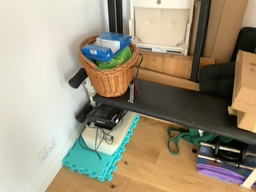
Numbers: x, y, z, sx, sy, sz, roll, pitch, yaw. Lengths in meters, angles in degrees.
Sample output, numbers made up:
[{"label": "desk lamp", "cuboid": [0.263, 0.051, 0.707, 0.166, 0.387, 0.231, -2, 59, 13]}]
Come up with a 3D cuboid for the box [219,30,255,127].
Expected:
[{"label": "box", "cuboid": [0.670, -0.100, 1.080, 0.290, 0.260, 0.460, 12, 45, 21]}]
